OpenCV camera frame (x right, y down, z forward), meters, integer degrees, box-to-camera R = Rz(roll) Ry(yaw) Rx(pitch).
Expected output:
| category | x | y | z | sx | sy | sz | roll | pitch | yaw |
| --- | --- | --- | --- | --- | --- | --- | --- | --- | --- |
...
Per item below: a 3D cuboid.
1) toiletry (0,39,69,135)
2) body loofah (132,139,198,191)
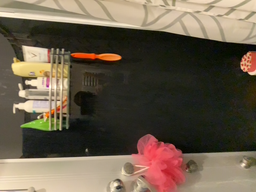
| category | x | y | z | sx | sy | sz | roll | pitch | yaw |
| --- | --- | --- | --- | --- | --- | --- | --- | --- | --- |
| toiletry | -0.380 | -0.030 | 0.870 | 0.110 | 0.250 | 0.360 | -166 | 78 | -78 |
| body loofah | 0.150 | 0.300 | 0.930 | 0.190 | 0.220 | 0.110 | -100 | 17 | -44 |
